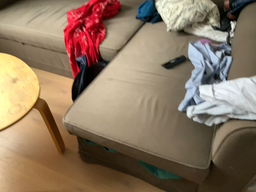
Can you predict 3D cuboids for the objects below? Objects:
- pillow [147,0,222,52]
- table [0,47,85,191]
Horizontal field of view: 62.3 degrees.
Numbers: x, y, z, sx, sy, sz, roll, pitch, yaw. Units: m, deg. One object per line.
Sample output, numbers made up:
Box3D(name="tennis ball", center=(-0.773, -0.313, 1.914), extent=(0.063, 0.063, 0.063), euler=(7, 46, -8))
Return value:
Box3D(name="pillow", center=(0.440, -0.590, 1.640), extent=(0.450, 0.210, 0.460), euler=(15, 45, 16))
Box3D(name="table", center=(-0.780, 0.120, 1.250), extent=(0.740, 0.470, 0.670), euler=(17, 46, 17))
